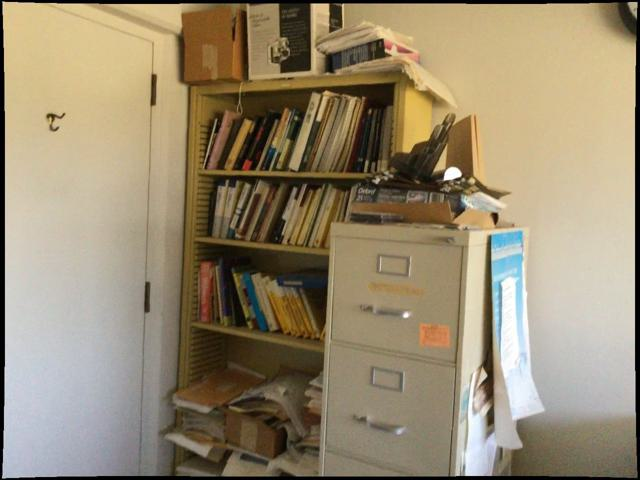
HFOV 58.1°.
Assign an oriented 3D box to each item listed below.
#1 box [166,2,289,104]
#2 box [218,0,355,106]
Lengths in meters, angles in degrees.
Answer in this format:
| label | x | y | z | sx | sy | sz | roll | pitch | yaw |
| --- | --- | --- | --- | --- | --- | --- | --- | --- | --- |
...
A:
| label | x | y | z | sx | sy | sz | roll | pitch | yaw |
| --- | --- | --- | --- | --- | --- | --- | --- | --- | --- |
| box | -0.379 | -0.762 | 2.420 | 0.319 | 0.291 | 0.400 | 4 | 3 | 28 |
| box | -0.130 | -0.772 | 2.220 | 0.449 | 0.441 | 0.240 | 4 | 3 | 28 |
